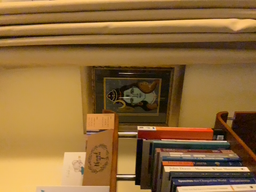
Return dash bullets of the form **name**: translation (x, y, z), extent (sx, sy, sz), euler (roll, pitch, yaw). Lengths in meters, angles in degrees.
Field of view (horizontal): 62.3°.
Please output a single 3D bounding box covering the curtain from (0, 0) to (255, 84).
- **curtain**: translation (0.280, -0.260, 0.980), extent (0.180, 2.040, 0.360), euler (-95, 5, -70)
